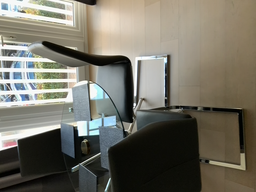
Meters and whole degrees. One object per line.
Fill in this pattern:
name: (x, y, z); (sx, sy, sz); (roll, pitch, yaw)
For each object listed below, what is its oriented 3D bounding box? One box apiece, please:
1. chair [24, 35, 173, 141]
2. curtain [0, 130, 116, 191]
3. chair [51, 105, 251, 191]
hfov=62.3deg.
chair: (-0.160, -0.080, 1.600); (0.420, 1.030, 0.560); (5, 98, 50)
curtain: (-1.210, 0.860, 1.870); (0.340, 2.450, 0.680); (0, 93, 51)
chair: (0.180, 0.310, 1.240); (0.580, 1.020, 0.410); (-6, 89, 51)
